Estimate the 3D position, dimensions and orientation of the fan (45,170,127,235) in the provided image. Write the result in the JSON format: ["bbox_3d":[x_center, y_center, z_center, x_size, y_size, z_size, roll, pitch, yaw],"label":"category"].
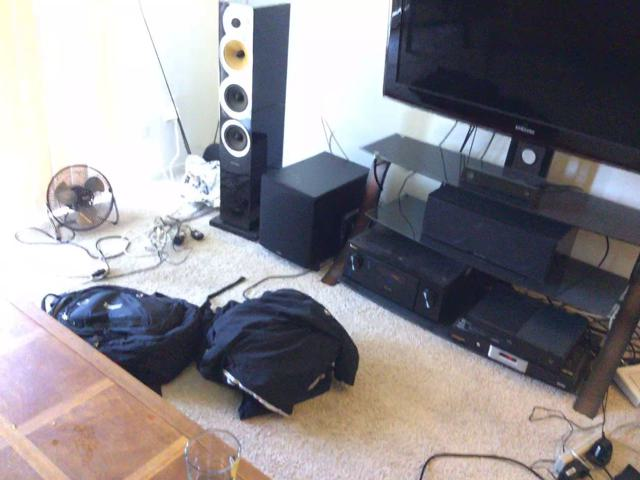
[{"bbox_3d":[-1.010,-0.170,2.510,0.230,0.190,0.240,21,25,33],"label":"fan"}]

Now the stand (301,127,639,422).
[{"bbox_3d":[0.600,0.020,2.180,1.210,0.620,0.560,21,25,33],"label":"stand"}]

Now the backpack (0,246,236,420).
[{"bbox_3d":[-0.690,0.260,1.920,0.650,0.180,0.490,21,25,33],"label":"backpack"}]
